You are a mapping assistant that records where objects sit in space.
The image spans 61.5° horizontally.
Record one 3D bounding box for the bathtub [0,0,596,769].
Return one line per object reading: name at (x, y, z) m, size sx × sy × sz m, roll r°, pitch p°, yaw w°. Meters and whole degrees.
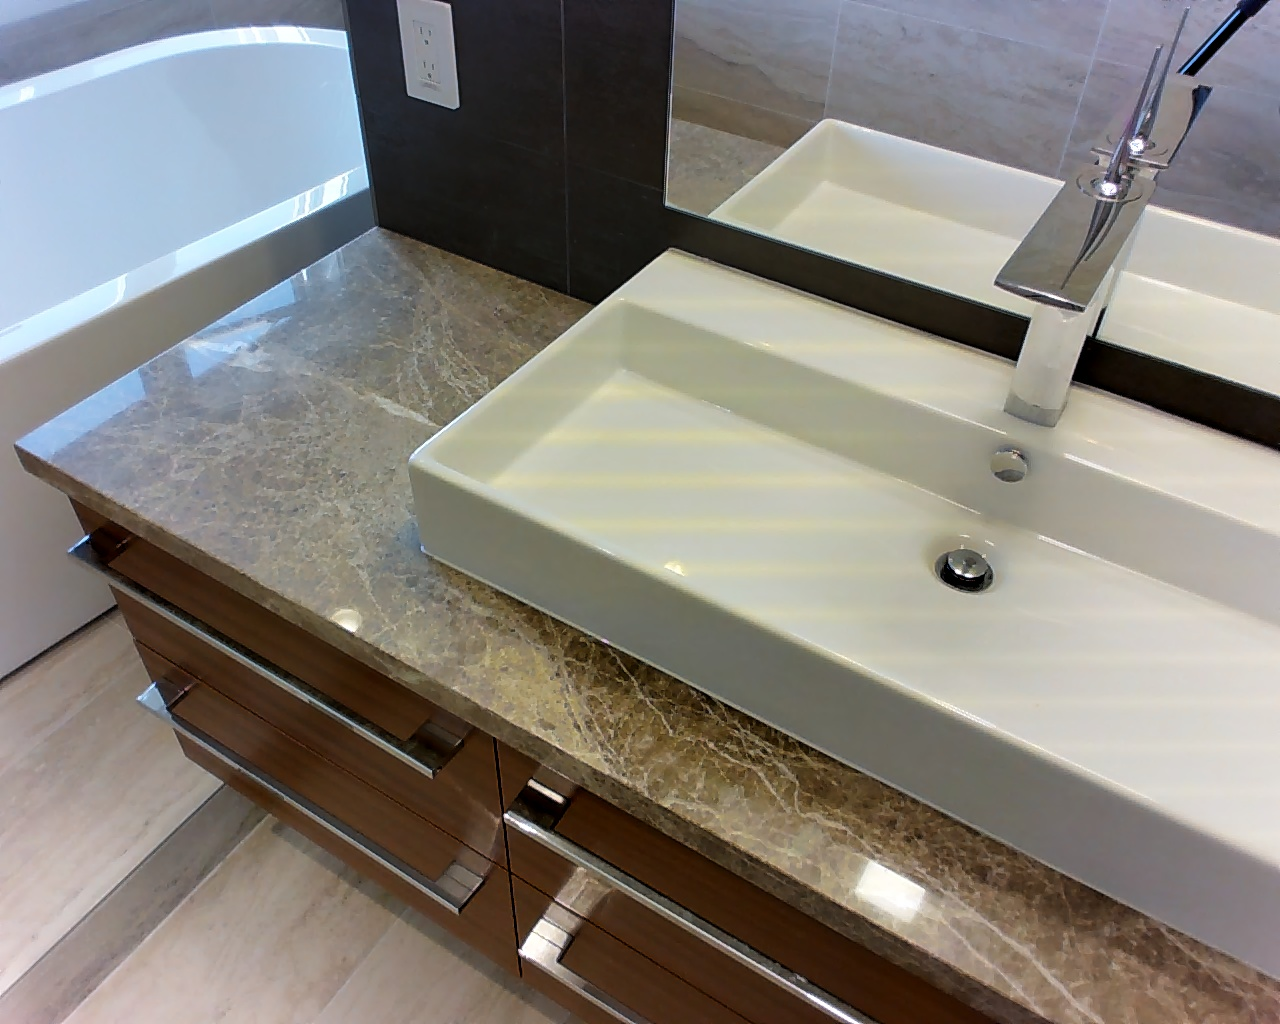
bathtub at (-1.030, -0.310, 1.950) m, size 0.920 × 0.620 × 1.890 m, roll 28°, pitch 49°, yaw 25°
